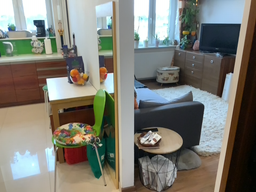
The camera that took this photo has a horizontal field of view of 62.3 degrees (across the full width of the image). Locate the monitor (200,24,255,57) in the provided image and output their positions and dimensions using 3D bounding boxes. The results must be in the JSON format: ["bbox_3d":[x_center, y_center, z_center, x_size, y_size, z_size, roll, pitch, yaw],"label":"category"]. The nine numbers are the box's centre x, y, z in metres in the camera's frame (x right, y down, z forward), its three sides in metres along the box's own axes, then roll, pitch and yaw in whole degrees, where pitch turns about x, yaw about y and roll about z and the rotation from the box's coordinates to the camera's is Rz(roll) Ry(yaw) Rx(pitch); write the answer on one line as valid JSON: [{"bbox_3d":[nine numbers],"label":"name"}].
[{"bbox_3d":[1.830,-1.050,4.020,0.070,0.550,0.990,-12,20,-35],"label":"monitor"}]
